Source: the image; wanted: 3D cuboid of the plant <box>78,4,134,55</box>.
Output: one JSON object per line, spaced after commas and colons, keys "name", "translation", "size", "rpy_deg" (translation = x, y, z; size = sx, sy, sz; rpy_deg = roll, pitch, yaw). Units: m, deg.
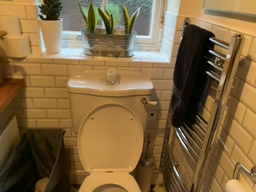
{"name": "plant", "translation": [-0.140, -0.430, 1.360], "size": [0.320, 0.260, 0.230], "rpy_deg": [2, 26, -5]}
